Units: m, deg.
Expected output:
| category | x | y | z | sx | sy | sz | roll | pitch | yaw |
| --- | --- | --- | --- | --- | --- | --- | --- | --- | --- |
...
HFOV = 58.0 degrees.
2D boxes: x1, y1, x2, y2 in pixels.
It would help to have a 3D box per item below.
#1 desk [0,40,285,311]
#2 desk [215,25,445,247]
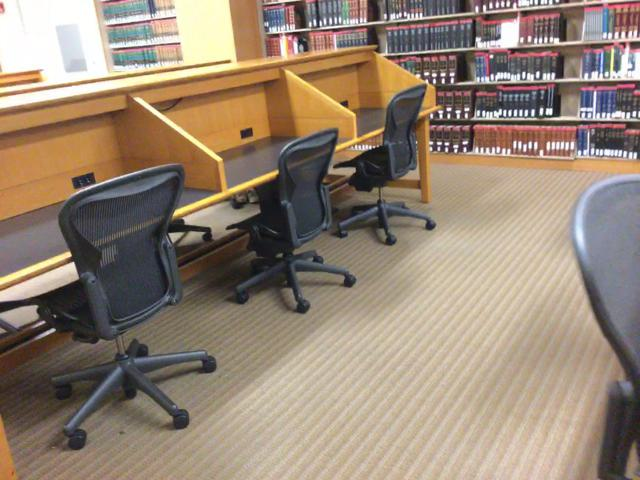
| category | x | y | z | sx | sy | sz | roll | pitch | yaw |
| --- | --- | --- | --- | --- | --- | --- | --- | --- | --- |
| desk | -0.950 | -0.470 | 3.500 | 0.780 | 1.270 | 1.240 | 6 | 23 | 30 |
| desk | 0.160 | -0.790 | 4.060 | 1.010 | 1.210 | 1.280 | 7 | 23 | 31 |
